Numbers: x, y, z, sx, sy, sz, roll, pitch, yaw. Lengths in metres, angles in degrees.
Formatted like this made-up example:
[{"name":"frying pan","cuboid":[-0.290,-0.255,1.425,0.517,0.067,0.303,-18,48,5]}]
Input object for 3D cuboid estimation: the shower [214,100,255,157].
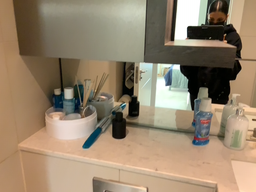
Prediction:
[{"name":"shower","cuboid":[0.420,0.120,0.840,0.110,0.150,0.170,6,18,15]}]
